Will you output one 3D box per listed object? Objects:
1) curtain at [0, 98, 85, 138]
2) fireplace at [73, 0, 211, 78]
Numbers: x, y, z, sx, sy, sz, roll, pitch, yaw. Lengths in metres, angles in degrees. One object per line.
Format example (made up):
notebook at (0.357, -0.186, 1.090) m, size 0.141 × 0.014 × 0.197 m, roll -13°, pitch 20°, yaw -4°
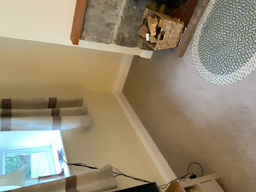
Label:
curtain at (-1.090, 0.190, 1.930) m, size 0.360 × 1.320 × 0.160 m, roll 56°, pitch 135°, yaw 44°
fireplace at (0.210, -0.980, 1.660) m, size 0.490 × 0.900 × 1.600 m, roll 56°, pitch 135°, yaw 45°
